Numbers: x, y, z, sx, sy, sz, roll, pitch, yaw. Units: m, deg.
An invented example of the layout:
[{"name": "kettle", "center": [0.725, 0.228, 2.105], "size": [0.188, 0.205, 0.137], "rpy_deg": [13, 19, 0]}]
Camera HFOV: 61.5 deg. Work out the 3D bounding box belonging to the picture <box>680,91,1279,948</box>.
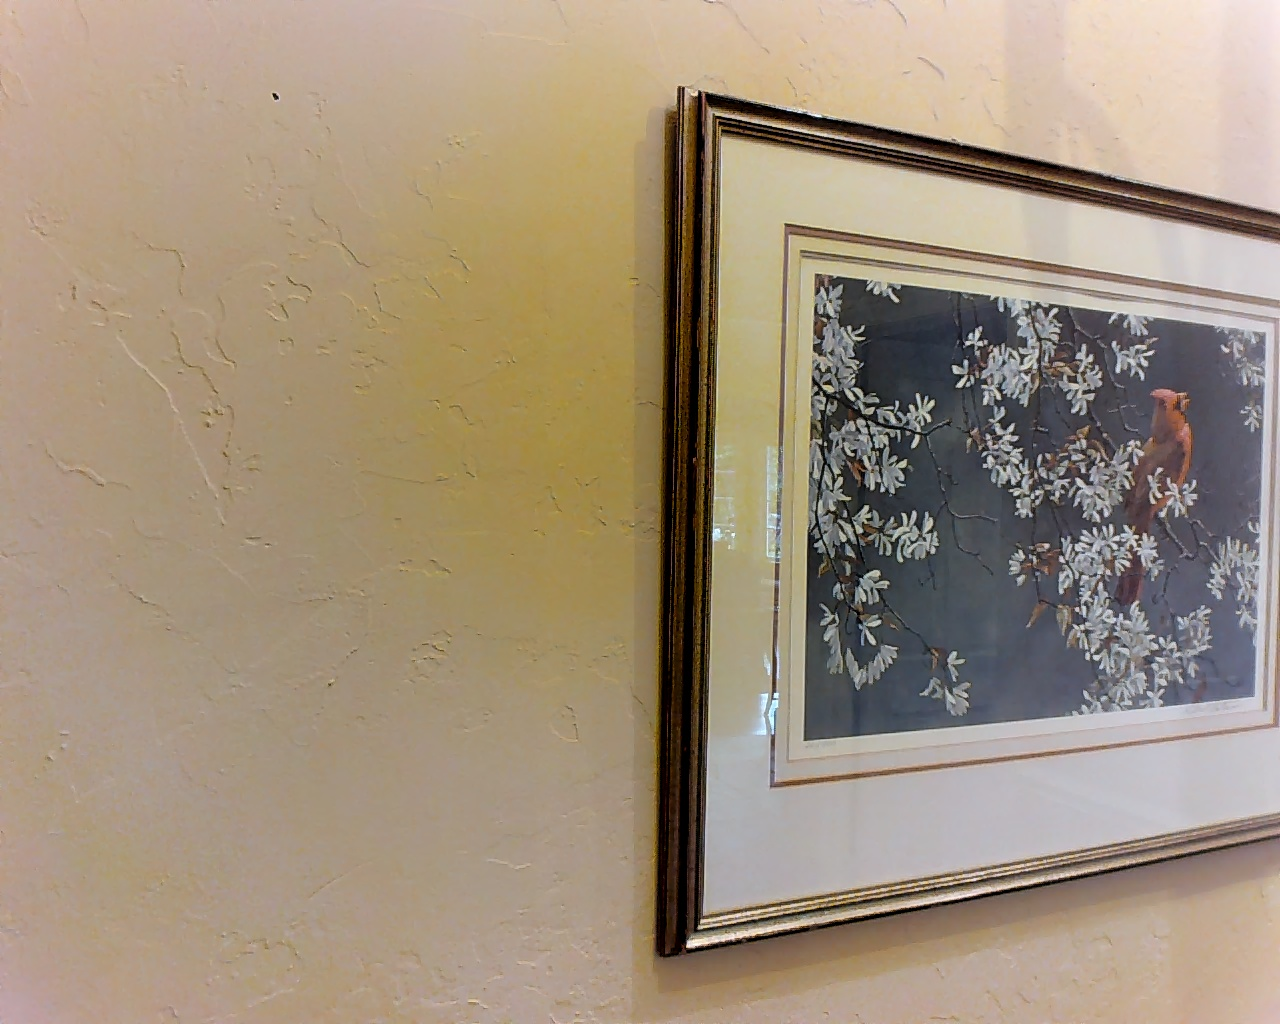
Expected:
[{"name": "picture", "center": [0.340, 0.010, 0.850], "size": [0.670, 0.550, 0.030], "rpy_deg": [1, 1, -26]}]
